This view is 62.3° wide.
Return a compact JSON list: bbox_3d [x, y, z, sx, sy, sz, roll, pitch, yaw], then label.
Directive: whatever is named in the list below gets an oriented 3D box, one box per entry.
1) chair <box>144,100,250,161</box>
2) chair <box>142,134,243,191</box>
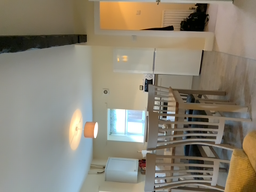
[{"bbox_3d":[0.730,0.370,2.520,0.590,1.040,0.460,-71,-16,-77],"label":"chair"},{"bbox_3d":[0.710,0.850,2.640,0.640,1.040,0.450,-71,-16,-77],"label":"chair"}]
